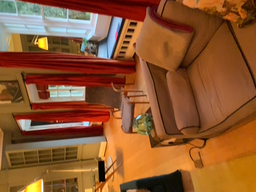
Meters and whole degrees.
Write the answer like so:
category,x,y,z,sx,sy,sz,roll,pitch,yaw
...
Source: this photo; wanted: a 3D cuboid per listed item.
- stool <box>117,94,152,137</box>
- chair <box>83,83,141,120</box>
category,x,y,z,sx,sy,sz,roll,pitch,yaw
stool,0.100,0.330,3.810,0.490,0.440,0.610,-136,47,-64
chair,-0.370,0.070,4.320,0.800,0.980,0.450,-131,43,-62
